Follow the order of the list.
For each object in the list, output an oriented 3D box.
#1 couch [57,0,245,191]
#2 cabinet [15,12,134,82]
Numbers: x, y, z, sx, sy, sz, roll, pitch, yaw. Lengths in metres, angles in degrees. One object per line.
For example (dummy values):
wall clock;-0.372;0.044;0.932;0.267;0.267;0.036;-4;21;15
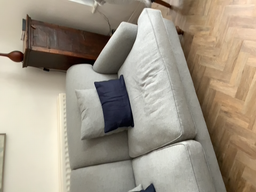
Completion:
couch;0.030;0.470;1.680;1.150;0.840;2.120;-39;53;50
cabinet;-0.580;-0.510;2.450;0.380;1.230;0.410;-43;50;48
